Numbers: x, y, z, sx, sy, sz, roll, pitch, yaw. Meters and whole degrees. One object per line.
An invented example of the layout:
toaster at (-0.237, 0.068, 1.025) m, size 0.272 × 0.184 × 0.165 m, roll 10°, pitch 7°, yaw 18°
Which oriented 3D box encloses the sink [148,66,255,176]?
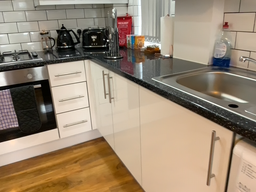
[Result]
sink at (0.450, 0.050, 1.050) m, size 0.490 × 0.240 × 0.530 m, roll -13°, pitch 23°, yaw -24°
